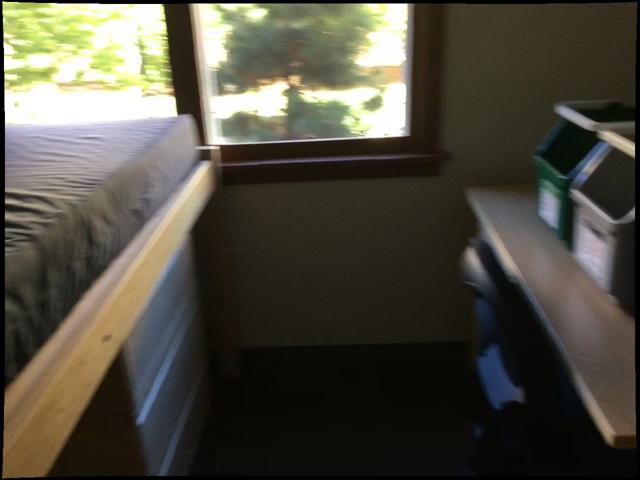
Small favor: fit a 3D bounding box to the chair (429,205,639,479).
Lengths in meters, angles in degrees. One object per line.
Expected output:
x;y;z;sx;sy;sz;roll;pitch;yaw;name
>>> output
0.569;0.441;1.390;0.489;0.892;0.550;-2;24;1;chair
